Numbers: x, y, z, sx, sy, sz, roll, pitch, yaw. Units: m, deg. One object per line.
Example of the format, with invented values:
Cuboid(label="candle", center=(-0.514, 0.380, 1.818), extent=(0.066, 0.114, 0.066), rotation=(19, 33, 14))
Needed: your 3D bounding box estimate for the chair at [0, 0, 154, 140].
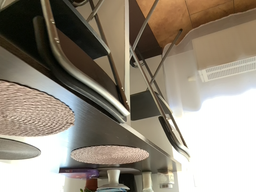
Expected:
Cuboid(label="chair", center=(-0.230, -0.410, 0.830), extent=(0.480, 1.020, 0.420), rotation=(-13, 150, 21))
